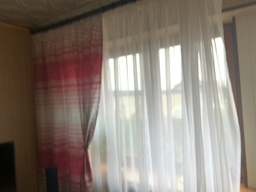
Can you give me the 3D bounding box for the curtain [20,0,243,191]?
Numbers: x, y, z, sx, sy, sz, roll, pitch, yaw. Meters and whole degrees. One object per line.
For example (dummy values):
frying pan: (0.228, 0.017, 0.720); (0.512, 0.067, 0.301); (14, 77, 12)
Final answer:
curtain: (-0.250, 0.470, 2.100); (2.410, 2.720, 0.140); (-4, 0, 33)
